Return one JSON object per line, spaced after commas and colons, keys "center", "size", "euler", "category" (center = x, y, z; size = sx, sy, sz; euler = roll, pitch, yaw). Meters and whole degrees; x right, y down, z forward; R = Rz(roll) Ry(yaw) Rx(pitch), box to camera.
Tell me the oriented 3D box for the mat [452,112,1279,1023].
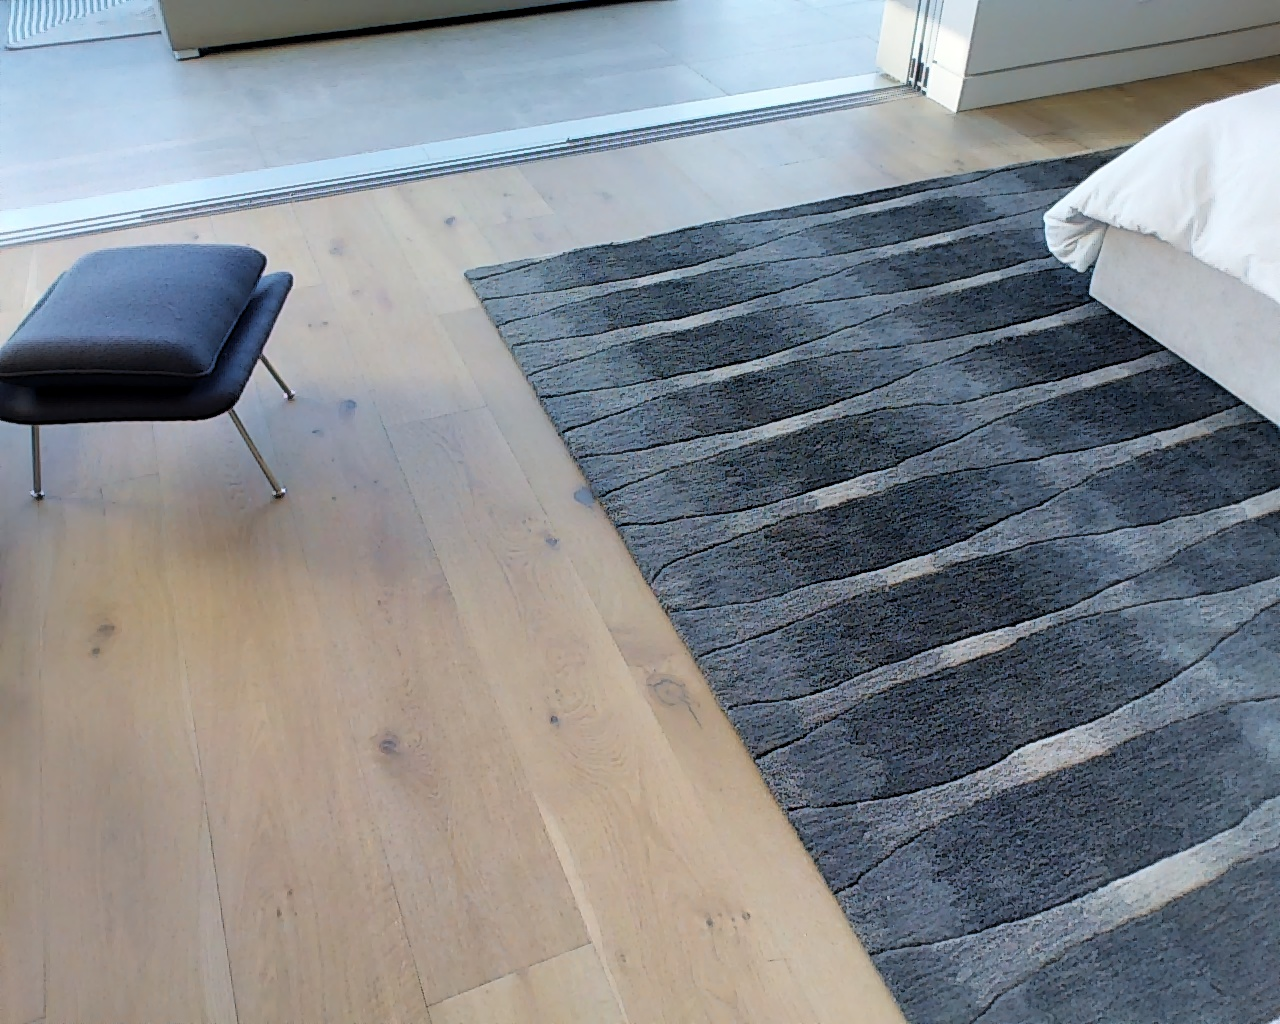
{"center": [1.460, 0.030, 2.320], "size": [2.810, 0.040, 3.680], "euler": [-16, 44, -17], "category": "mat"}
